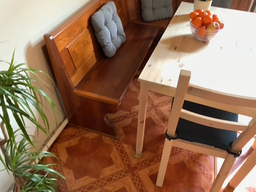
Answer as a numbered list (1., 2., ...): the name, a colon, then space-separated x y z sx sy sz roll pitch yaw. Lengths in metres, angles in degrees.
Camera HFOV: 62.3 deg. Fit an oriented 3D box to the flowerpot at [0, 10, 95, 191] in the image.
1. flowerpot: -0.490 0.270 0.910 0.460 1.110 0.440 16 45 14
